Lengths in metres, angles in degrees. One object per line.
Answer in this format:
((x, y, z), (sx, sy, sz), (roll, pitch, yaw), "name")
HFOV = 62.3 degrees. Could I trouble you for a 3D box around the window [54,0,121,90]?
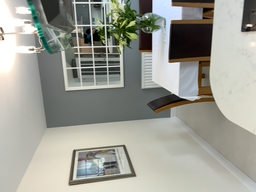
((-0.650, -1.160, 3.460), (0.130, 0.970, 2.070), (-133, 40, -74), "window")
